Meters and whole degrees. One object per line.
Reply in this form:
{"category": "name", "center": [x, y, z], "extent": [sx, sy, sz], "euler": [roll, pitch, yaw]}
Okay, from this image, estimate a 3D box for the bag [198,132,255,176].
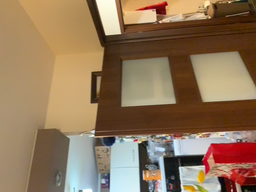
{"category": "bag", "center": [0.670, 0.380, 1.330], "extent": [0.420, 0.330, 0.210], "euler": [77, -170, -67]}
